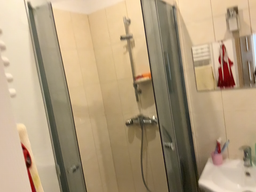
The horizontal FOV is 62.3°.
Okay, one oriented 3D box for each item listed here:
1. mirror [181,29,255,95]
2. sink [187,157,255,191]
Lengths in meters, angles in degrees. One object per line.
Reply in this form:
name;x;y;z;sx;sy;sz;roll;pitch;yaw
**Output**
mirror;0.690;-0.210;1.300;0.680;0.340;0.070;-5;8;31
sink;0.670;0.550;1.240;0.520;0.190;0.380;-5;8;34
